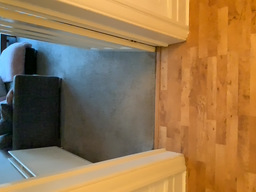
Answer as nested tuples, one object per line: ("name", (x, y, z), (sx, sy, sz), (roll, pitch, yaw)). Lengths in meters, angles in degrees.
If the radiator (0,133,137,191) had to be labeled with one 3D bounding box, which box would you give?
("radiator", (-0.790, 0.650, 2.300), (1.730, 0.780, 0.160), (2, 91, 48))
